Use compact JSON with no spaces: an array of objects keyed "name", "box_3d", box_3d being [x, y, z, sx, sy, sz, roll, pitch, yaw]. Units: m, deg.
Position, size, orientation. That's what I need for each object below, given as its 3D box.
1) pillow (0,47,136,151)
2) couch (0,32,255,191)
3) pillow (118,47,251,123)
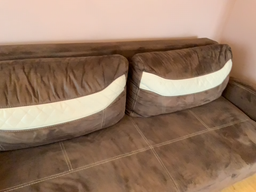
[{"name":"pillow","box_3d":[-0.460,0.000,1.190,0.950,0.430,0.260,-9,34,-25]},{"name":"couch","box_3d":[0.000,0.190,1.450,2.290,0.880,1.120,-9,38,-27]},{"name":"pillow","box_3d":[0.430,-0.120,1.620,0.950,0.400,0.270,-8,36,-25]}]
